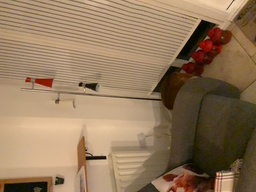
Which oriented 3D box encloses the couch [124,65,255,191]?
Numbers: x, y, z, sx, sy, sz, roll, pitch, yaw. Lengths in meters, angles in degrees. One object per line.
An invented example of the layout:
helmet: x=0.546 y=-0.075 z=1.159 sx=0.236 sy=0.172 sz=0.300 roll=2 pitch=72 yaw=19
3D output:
couch: x=0.610 y=0.380 z=1.310 sx=1.010 sy=0.810 sz=0.950 roll=-152 pitch=70 yaw=-64
